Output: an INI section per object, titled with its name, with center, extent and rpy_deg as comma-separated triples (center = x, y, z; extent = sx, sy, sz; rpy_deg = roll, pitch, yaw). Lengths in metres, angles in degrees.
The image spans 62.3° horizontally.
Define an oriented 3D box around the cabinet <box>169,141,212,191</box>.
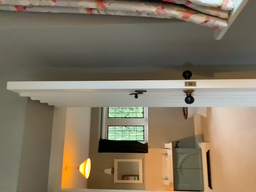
[cabinet]
center = 1.210, 1.420, 4.210
extent = 0.610, 0.660, 1.030
rpy_deg = 73, -163, -78
